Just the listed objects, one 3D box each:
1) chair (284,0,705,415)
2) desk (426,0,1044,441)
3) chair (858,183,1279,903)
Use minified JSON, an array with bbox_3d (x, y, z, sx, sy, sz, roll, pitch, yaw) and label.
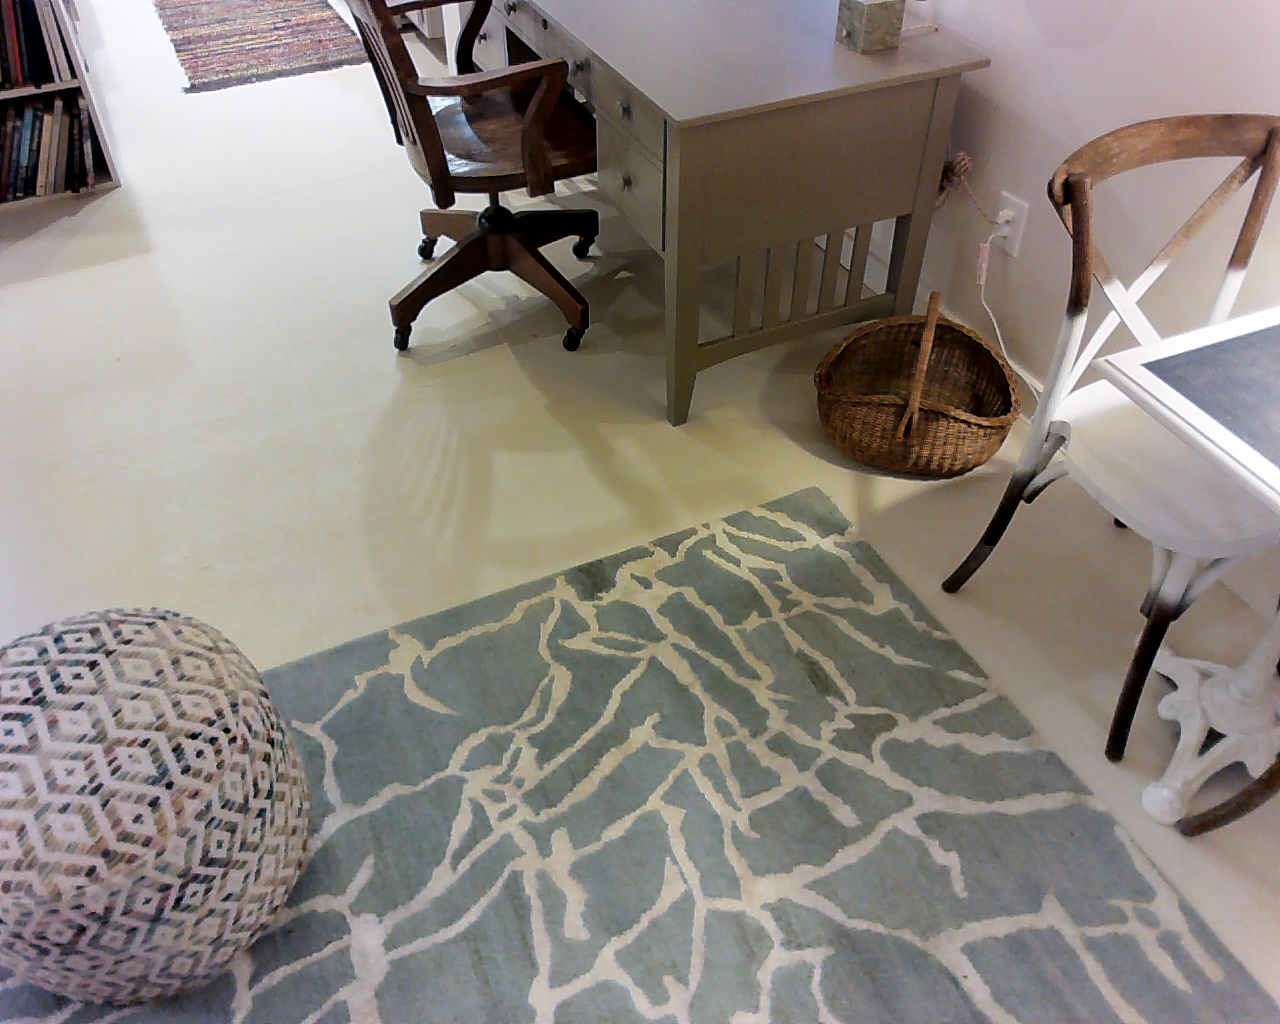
[{"bbox_3d":[-0.370,-0.950,2.650,0.750,0.980,0.810,-17,45,-17],"label":"chair"},{"bbox_3d":[0.100,-1.040,2.840,0.850,0.730,1.600,-18,45,-18],"label":"desk"},{"bbox_3d":[0.730,0.070,1.620,0.570,0.900,0.600,-2,42,-2],"label":"chair"}]
